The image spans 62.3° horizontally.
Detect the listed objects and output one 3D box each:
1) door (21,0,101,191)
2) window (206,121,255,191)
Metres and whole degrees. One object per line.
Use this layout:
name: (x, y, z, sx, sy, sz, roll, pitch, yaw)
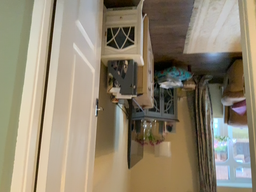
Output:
door: (-0.310, -0.160, 1.270, 0.080, 1.880, 0.790, 1, 170, 4)
window: (2.610, 1.190, 4.100, 1.980, 1.350, 0.340, 0, 170, 10)
